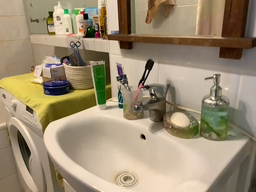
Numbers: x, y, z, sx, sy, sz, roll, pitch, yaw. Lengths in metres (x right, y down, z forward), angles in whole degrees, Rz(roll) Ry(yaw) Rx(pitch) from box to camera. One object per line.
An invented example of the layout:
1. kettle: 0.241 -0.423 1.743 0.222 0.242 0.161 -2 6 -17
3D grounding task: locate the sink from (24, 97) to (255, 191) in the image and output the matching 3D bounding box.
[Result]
1. sink: 0.010 0.180 0.600 0.380 0.150 0.510 -19 26 -41
